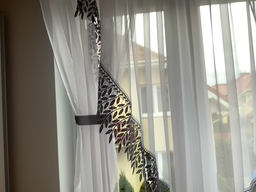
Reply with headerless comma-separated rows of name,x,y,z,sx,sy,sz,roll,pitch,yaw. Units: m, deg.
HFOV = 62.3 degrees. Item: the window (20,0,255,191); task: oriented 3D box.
window,0.350,-0.140,0.950,1.550,1.630,0.270,-4,-3,4
